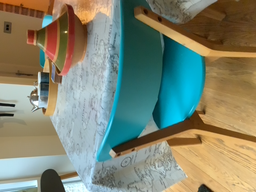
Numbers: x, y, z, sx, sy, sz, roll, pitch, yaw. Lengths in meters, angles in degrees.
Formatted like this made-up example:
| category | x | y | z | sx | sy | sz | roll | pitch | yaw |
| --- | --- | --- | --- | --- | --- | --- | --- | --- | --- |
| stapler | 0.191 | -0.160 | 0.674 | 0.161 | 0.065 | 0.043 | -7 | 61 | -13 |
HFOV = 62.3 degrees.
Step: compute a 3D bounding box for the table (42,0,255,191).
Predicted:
| category | x | y | z | sx | sy | sz | roll | pitch | yaw |
| --- | --- | --- | --- | --- | --- | --- | --- | --- | --- |
| table | -0.040 | -0.200 | 1.390 | 1.300 | 0.780 | 0.930 | 28 | 111 | 59 |
